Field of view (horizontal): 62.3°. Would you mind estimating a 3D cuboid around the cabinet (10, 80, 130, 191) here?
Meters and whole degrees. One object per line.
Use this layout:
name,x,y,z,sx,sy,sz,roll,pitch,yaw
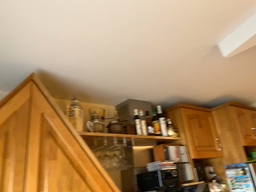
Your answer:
cabinet,-0.350,0.400,1.290,0.570,0.820,0.380,10,-28,-36
